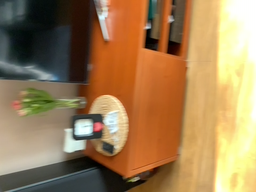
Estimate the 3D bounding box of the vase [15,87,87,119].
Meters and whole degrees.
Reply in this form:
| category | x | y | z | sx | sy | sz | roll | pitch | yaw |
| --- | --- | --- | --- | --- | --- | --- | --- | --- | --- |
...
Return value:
| category | x | y | z | sx | sy | sz | roll | pitch | yaw |
| --- | --- | --- | --- | --- | --- | --- | --- | --- | --- |
| vase | -0.500 | 0.040 | 1.420 | 0.130 | 0.430 | 0.170 | 11 | 97 | 44 |

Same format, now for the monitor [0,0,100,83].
| category | x | y | z | sx | sy | sz | roll | pitch | yaw |
| --- | --- | --- | --- | --- | --- | --- | --- | --- | --- |
| monitor | -0.440 | -0.690 | 1.070 | 0.050 | 0.720 | 1.220 | 7 | 95 | 45 |
